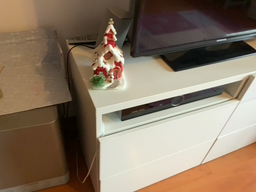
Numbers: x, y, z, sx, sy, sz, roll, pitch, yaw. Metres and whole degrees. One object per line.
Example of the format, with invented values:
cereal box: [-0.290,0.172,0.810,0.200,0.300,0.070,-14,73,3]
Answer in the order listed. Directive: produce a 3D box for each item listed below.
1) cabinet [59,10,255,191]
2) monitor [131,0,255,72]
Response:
cabinet: [0.340,-0.010,1.150,1.230,0.640,0.550,-11,47,-19]
monitor: [0.360,-0.350,0.700,0.710,0.480,0.040,-14,46,-22]
